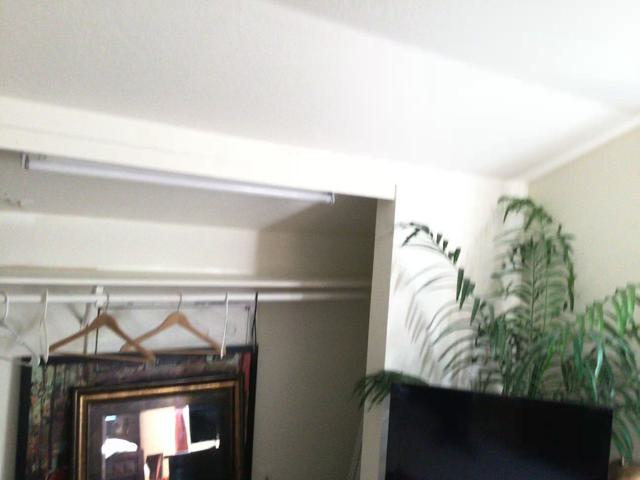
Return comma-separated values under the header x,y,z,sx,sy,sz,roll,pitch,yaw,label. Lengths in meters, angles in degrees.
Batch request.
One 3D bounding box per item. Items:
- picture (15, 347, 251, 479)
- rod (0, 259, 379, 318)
x,y,z,sx,sy,sz,roll,pitch,yaw,label
-0.780,1.020,2.510,0.960,1.080,0.180,9,-12,-39,picture
-0.610,0.190,2.530,2.070,0.180,0.380,1,-5,-40,rod
